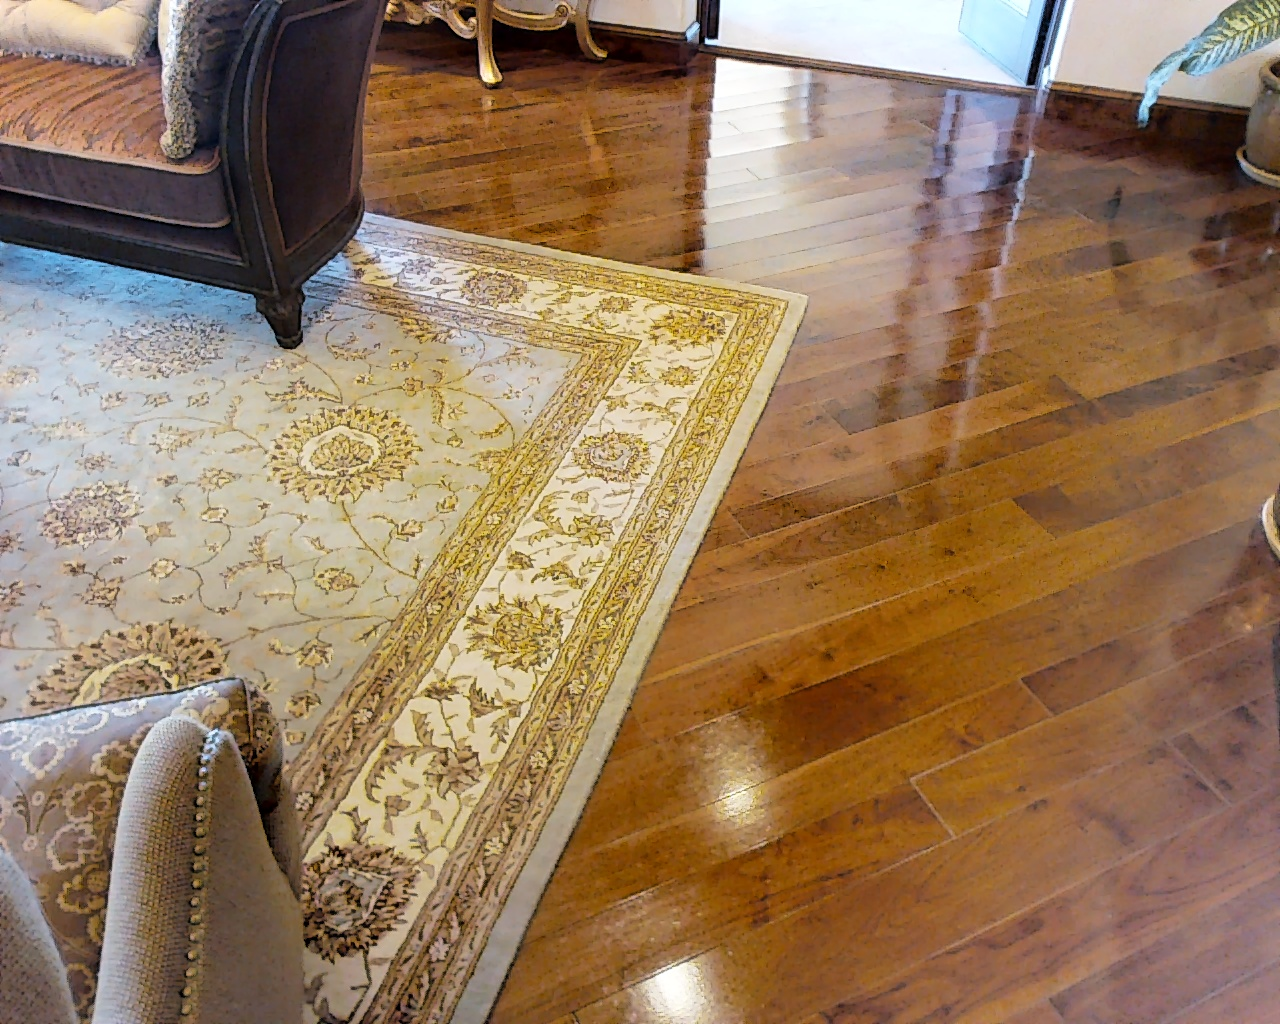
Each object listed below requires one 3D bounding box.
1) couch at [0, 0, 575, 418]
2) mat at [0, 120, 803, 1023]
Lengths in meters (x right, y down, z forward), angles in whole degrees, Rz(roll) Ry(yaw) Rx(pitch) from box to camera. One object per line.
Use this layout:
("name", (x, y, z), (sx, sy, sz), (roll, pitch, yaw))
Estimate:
("couch", (-1.610, -1.320, 3.120), (2.480, 1.000, 1.350), (14, 43, 15))
("mat", (-1.970, -0.210, 2.530), (4.090, 0.150, 2.930), (14, 43, 15))
